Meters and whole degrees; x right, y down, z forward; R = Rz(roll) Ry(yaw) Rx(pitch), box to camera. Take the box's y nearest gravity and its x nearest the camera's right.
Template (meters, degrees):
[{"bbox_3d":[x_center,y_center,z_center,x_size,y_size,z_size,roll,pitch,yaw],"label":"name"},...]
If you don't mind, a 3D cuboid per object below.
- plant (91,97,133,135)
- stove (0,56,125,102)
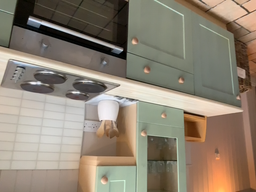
[{"bbox_3d":[-0.120,0.160,1.590,0.220,0.230,0.210,12,162,-35],"label":"plant"},{"bbox_3d":[-0.420,-0.060,1.270,0.610,0.010,0.530,12,162,-34],"label":"stove"}]
